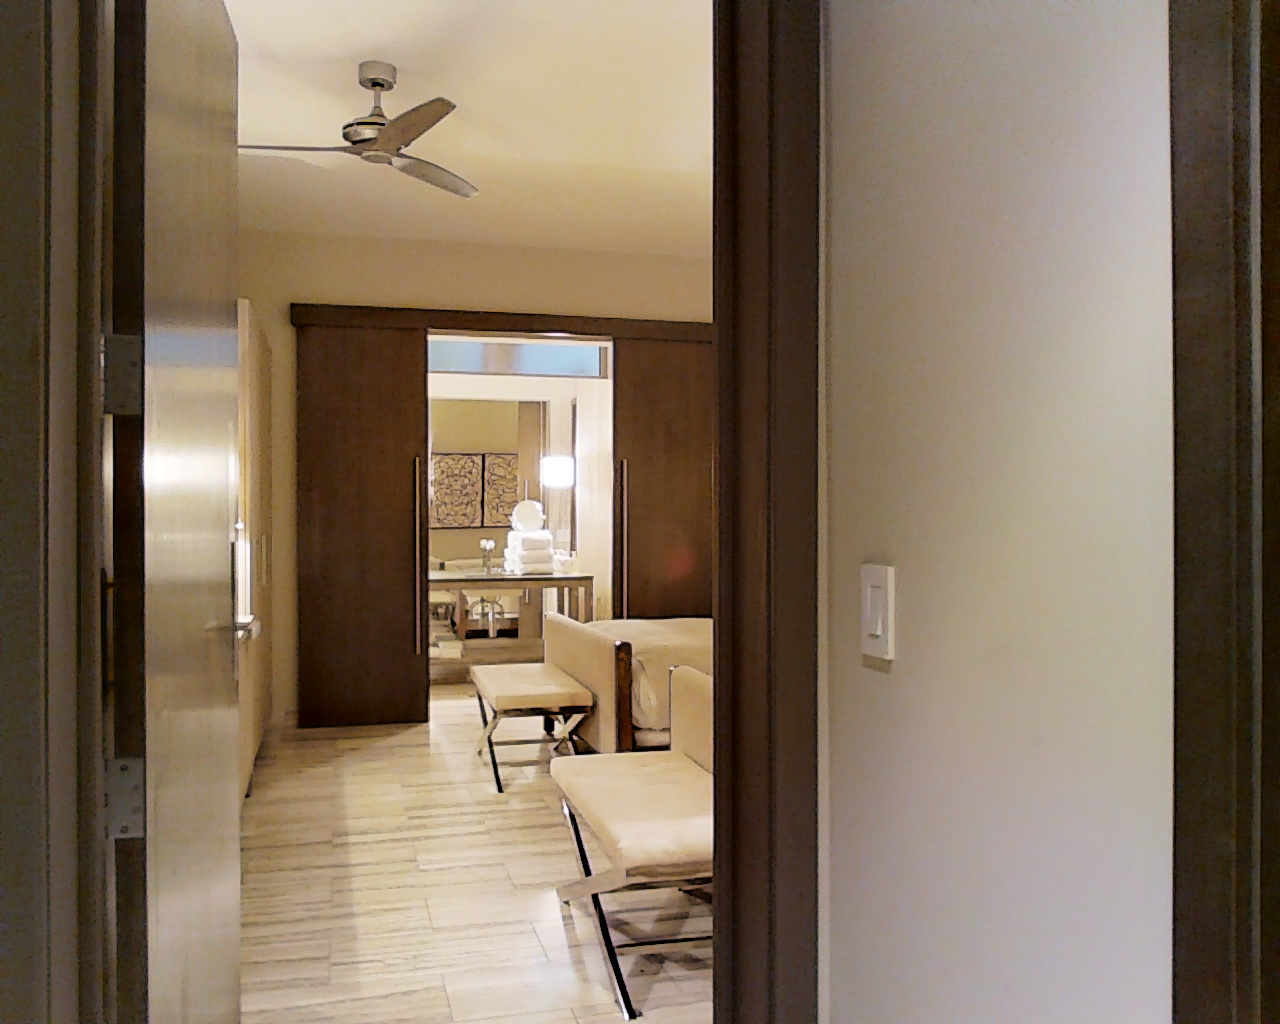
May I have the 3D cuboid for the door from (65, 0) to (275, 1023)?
[{"bbox_3d":[-0.840,0.080,2.030,0.130,2.390,0.980,-1,0,-11],"label":"door"}]
